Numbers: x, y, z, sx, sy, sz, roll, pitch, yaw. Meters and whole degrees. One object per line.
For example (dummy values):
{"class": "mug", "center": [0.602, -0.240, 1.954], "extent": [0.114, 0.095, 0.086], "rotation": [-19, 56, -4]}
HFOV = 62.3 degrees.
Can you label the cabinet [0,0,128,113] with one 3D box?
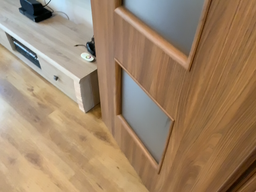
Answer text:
{"class": "cabinet", "center": [-0.750, -0.510, 1.890], "extent": [1.580, 0.340, 0.460], "rotation": [34, 54, 26]}
